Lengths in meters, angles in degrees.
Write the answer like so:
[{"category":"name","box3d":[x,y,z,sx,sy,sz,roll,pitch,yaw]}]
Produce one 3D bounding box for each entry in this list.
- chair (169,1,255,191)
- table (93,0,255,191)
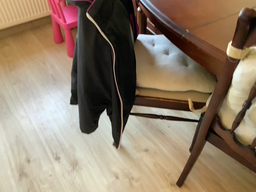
[{"category":"chair","box3d":[0.570,0.120,0.800,0.580,0.930,0.420,-34,56,-28]},{"category":"table","box3d":[0.640,-0.160,1.180,1.040,0.760,1.680,-23,51,-20]}]
